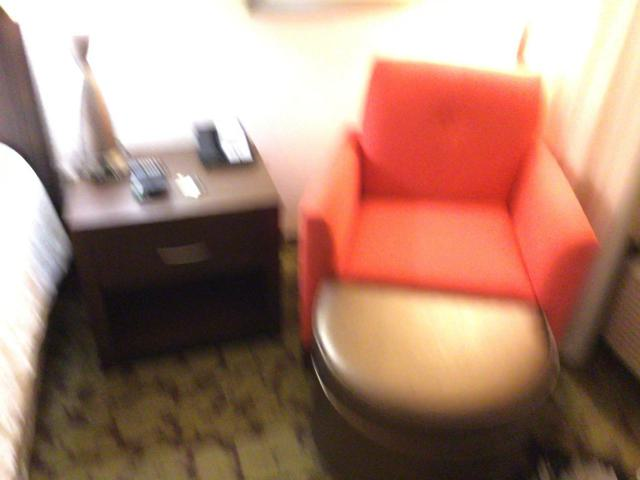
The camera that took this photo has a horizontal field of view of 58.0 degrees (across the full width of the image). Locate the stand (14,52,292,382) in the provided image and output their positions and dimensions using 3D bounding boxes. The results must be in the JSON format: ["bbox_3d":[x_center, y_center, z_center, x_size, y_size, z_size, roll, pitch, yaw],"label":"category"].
[{"bbox_3d":[-0.500,-0.100,1.930,0.670,0.840,0.570,-10,34,-14],"label":"stand"}]

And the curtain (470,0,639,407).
[{"bbox_3d":[0.870,-0.340,1.710,0.280,1.520,0.760,-10,35,-14],"label":"curtain"}]

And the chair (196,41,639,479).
[{"bbox_3d":[0.340,0.050,1.680,0.890,0.880,1.220,6,34,10],"label":"chair"}]

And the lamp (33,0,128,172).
[{"bbox_3d":[-0.710,-0.470,1.750,0.160,0.480,0.170,-10,34,-14],"label":"lamp"}]
